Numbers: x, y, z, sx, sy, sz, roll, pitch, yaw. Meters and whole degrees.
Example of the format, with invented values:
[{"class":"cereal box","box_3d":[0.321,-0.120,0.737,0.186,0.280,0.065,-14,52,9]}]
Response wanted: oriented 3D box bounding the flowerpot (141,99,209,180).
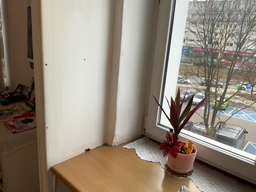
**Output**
[{"class":"flowerpot","box_3d":[0.240,0.210,1.130,0.260,0.310,0.180,19,22,39]}]
